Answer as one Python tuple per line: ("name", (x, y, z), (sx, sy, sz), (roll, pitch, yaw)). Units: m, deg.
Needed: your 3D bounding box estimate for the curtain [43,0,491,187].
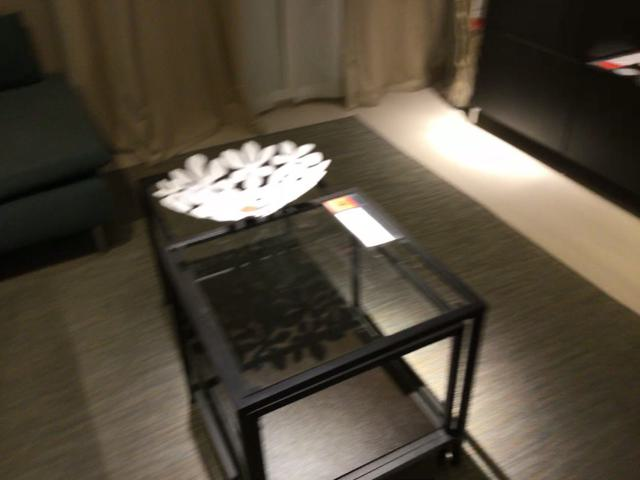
("curtain", (-0.150, -1.270, 2.480), (2.010, 1.610, 0.360), (-18, 36, -20))
